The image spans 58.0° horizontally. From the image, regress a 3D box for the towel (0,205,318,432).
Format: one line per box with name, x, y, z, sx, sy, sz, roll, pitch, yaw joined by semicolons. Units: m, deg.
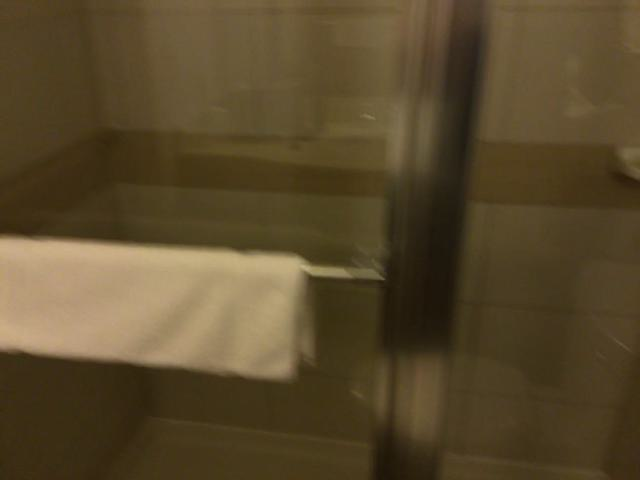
towel;-0.270;0.100;0.820;0.520;0.230;0.120;6;28;11
